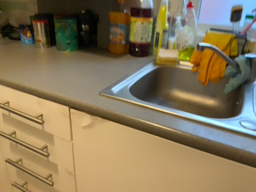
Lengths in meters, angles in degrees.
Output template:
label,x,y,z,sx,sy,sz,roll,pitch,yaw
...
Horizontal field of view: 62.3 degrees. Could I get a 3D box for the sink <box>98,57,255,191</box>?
label,x,y,z,sx,sy,sz,roll,pitch,yaw
sink,0.210,0.030,0.760,0.430,0.170,0.480,15,28,23
